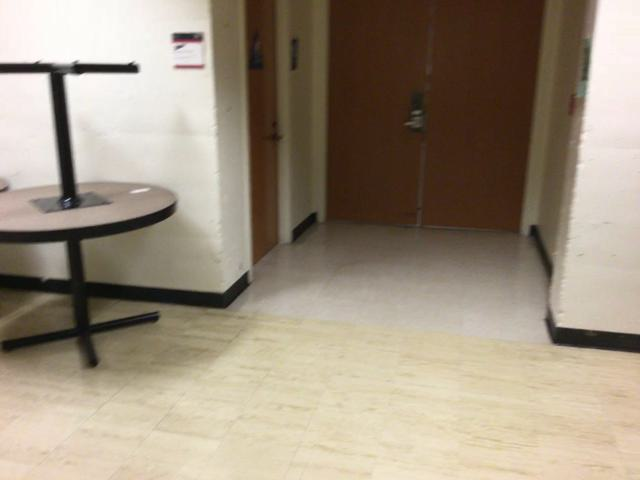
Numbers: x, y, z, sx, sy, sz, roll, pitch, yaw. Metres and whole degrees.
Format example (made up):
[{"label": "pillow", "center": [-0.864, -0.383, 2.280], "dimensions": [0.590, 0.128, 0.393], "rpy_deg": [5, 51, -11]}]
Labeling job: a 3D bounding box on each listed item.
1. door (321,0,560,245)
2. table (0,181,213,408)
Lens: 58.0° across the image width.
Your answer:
[{"label": "door", "center": [0.910, -1.260, 4.650], "dimensions": [1.720, 2.450, 0.520], "rpy_deg": [3, 18, 13]}, {"label": "table", "center": [-1.220, 0.190, 2.980], "dimensions": [0.940, 0.770, 1.010], "rpy_deg": [3, 18, 13]}]
